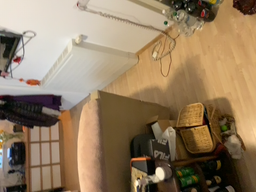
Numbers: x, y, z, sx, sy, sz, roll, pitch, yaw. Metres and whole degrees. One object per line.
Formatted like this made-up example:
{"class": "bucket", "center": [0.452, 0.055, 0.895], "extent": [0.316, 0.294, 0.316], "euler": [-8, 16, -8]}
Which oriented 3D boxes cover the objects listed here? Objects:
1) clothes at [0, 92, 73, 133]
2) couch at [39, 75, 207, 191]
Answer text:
{"class": "clothes", "center": [-1.520, 0.290, 3.390], "extent": [0.720, 1.020, 0.390], "euler": [-33, 61, 47]}
{"class": "couch", "center": [-0.060, 0.830, 1.810], "extent": [0.980, 1.010, 1.660], "euler": [-30, 64, 48]}
